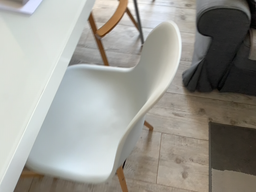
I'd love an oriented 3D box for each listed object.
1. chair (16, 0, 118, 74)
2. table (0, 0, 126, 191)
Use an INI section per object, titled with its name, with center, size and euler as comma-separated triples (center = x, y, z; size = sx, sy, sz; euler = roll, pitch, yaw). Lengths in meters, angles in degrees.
[chair]
center = -0.320, -0.600, 1.180
size = 0.400, 0.930, 0.430
euler = 8, 60, 5
[table]
center = -0.590, -0.010, 0.940
size = 0.960, 0.770, 0.940
euler = 10, 60, 7
